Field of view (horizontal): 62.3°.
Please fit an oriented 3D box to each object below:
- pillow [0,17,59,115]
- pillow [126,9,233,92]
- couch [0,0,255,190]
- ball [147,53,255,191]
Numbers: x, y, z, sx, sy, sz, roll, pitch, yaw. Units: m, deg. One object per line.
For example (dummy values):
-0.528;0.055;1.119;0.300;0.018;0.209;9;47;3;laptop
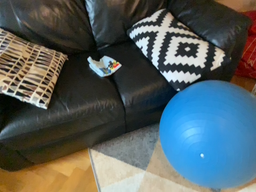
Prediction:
-0.580;-0.160;1.120;0.420;0.120;0.490;-39;32;17;pillow
0.260;-0.310;1.280;0.370;0.150;0.580;-16;45;-12;pillow
-0.190;-0.320;1.390;1.640;0.910;0.990;-16;45;-12;couch
0.430;0.180;1.070;0.520;0.500;0.500;-14;45;-10;ball
